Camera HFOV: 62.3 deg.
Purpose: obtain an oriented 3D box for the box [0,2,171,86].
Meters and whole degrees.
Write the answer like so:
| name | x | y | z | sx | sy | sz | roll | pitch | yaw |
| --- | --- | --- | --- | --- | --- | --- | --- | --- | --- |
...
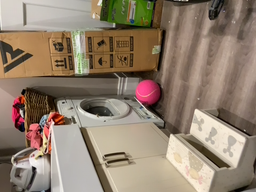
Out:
| name | x | y | z | sx | sy | sz | roll | pitch | yaw |
| --- | --- | --- | --- | --- | --- | --- | --- | --- | --- |
| box | -0.430 | -0.340 | 1.640 | 0.530 | 1.430 | 0.460 | -162 | 73 | -64 |
